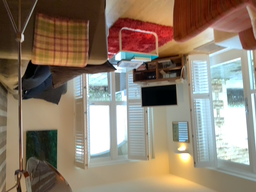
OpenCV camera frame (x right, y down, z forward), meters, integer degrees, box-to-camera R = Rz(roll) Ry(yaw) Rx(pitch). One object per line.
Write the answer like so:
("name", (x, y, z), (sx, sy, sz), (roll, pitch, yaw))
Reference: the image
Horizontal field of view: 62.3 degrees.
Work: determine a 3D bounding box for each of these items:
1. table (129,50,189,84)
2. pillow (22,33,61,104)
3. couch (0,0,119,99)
("table", (0.610, -0.540, 4.160), (1.040, 0.450, 0.510), (-4, 175, 24))
("pillow", (-0.880, -0.290, 2.100), (0.220, 0.490, 0.590), (-5, -148, -33))
("couch", (-1.060, -0.440, 2.650), (1.030, 0.780, 2.420), (1, 175, -25))
